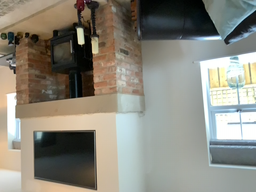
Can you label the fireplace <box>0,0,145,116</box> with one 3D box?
[{"bbox_3d":[-0.930,-0.430,3.170,2.010,1.350,1.100,-5,175,31],"label":"fireplace"}]
